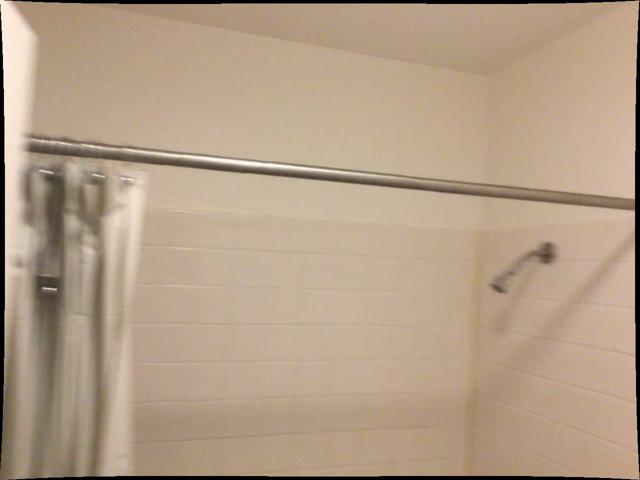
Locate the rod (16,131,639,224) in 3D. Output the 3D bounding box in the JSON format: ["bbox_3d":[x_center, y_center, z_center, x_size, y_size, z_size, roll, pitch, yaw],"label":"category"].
[{"bbox_3d":[0.150,-0.100,1.100,1.298,0.050,0.060,4,-1,-18],"label":"rod"}]
